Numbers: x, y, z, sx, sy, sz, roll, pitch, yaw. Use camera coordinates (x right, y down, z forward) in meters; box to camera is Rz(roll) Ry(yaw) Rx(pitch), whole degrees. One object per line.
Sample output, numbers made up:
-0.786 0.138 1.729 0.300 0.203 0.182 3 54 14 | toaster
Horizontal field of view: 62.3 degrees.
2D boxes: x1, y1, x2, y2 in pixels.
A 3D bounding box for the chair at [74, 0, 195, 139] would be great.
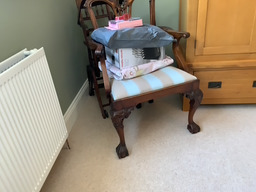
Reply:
0.000 -0.360 1.810 0.650 0.960 0.890 -13 30 -14 | chair
